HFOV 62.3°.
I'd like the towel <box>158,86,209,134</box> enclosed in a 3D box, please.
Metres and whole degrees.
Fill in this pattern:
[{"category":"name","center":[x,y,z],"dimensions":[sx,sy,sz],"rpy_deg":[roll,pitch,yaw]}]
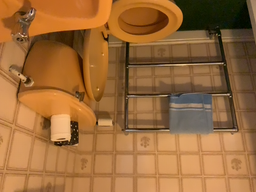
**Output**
[{"category":"towel","center":[0.380,0.100,1.510],"dimensions":[0.310,0.320,0.100],"rpy_deg":[0,160,0]}]

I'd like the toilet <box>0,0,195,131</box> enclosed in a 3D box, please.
[{"category":"toilet","center":[-0.100,-0.350,1.160],"dimensions":[0.680,0.960,0.600],"rpy_deg":[-2,160,4]}]
